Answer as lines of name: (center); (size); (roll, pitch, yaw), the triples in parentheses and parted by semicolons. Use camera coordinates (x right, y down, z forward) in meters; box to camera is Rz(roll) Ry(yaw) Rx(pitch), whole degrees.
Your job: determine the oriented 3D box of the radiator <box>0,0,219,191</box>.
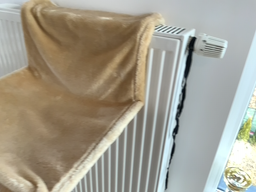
radiator: (-0.200, 0.190, 0.970); (0.880, 1.100, 0.150); (17, 32, 22)
